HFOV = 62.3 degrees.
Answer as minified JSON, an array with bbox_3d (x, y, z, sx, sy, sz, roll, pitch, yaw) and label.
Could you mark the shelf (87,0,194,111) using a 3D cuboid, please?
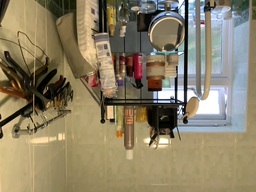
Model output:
[{"bbox_3d":[0.050,-0.790,1.010,0.410,1.670,0.460,0,-175,1],"label":"shelf"}]
